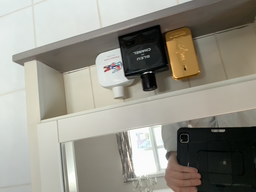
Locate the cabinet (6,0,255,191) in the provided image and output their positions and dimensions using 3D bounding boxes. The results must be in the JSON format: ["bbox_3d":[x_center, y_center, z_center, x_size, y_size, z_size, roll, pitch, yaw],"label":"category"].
[{"bbox_3d":[0.090,0.200,0.370,0.560,0.720,0.130,-12,168,12],"label":"cabinet"}]
